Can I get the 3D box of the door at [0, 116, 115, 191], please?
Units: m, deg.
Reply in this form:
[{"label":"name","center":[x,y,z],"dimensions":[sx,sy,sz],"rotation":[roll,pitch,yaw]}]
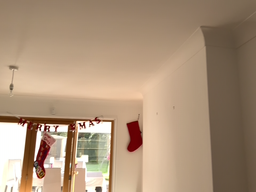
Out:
[{"label":"door","center":[-1.340,1.420,3.590],"dimensions":[2.150,2.070,0.110],"rotation":[3,-11,-8]}]
